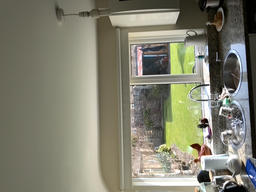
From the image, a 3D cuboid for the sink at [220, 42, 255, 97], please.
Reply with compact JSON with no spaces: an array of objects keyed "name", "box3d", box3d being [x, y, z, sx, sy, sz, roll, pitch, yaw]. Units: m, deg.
[{"name":"sink","box3d":[1.060,-0.220,2.010,0.470,0.170,0.460,13,-104,-87]}]
